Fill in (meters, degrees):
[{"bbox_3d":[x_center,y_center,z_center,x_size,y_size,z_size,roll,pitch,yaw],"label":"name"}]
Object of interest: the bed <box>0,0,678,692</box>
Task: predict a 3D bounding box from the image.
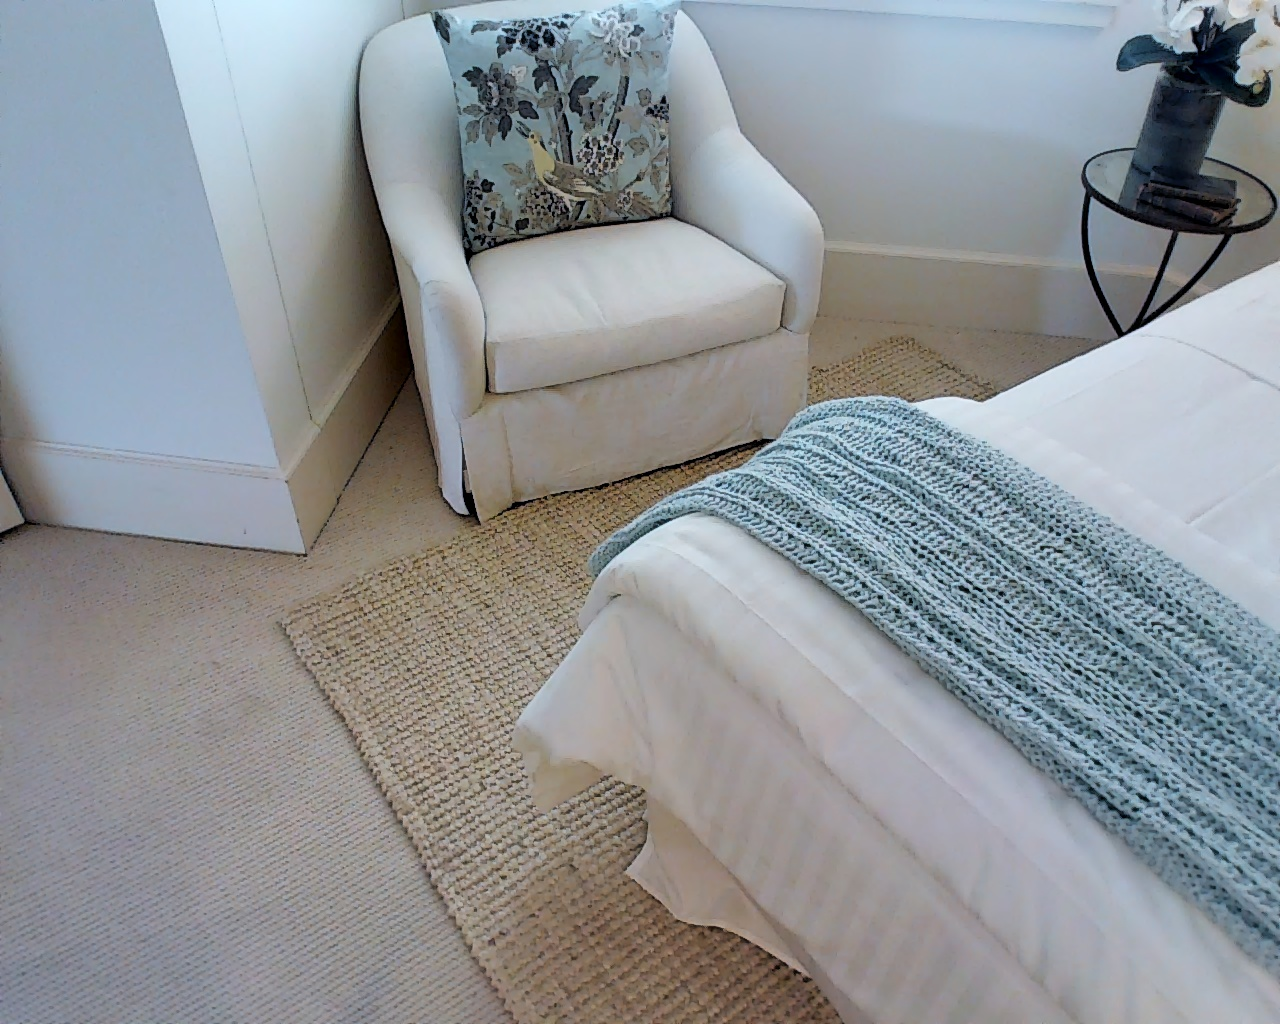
[{"bbox_3d":[-1.330,-0.750,2.300,2.170,1.130,1.780,-26,48,-26],"label":"bed"}]
